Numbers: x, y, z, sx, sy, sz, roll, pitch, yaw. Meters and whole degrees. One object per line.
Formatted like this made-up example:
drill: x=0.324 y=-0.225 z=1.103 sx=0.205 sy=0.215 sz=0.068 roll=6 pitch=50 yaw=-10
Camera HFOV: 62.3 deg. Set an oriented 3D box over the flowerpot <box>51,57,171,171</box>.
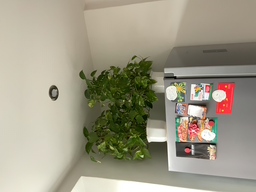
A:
flowerpot: x=-0.060 y=0.100 z=1.630 sx=0.500 sy=0.710 sz=0.660 roll=-55 pitch=-37 yaw=-61
